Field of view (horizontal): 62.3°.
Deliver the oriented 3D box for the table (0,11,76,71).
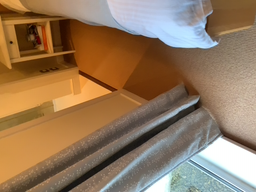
[{"bbox_3d":[-0.950,-0.600,2.180,0.340,0.690,0.470,26,125,41],"label":"table"}]
